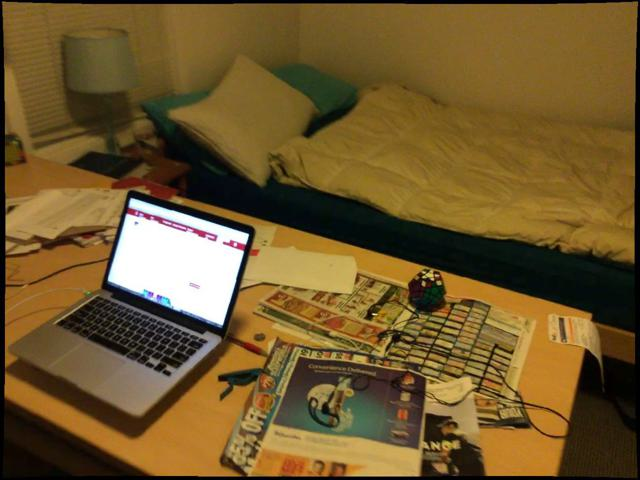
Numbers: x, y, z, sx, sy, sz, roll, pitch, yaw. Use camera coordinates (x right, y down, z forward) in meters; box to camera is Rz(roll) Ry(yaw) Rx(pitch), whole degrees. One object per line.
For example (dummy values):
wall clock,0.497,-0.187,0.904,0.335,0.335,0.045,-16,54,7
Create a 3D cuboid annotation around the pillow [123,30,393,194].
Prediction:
pillow,-0.190,-0.691,2.750,0.580,0.300,1.400,16,34,22
